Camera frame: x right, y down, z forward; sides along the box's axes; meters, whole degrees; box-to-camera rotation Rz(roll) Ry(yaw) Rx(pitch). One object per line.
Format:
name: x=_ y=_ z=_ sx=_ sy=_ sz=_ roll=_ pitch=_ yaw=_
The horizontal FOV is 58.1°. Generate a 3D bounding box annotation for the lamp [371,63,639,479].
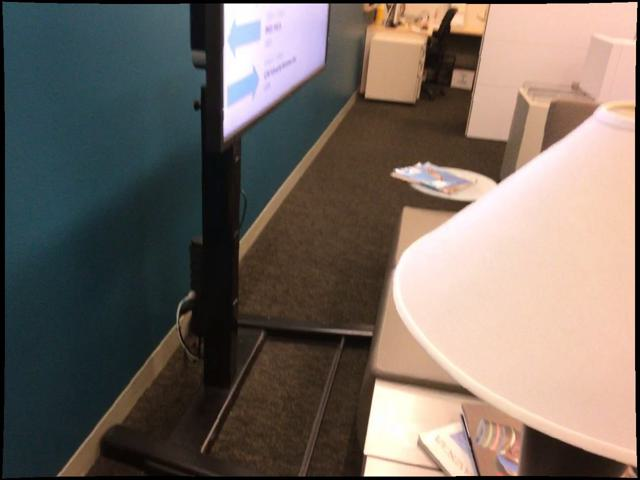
lamp: x=0.359 y=0.241 z=0.800 sx=0.519 sy=0.812 sz=0.580 roll=11 pitch=25 yaw=9
